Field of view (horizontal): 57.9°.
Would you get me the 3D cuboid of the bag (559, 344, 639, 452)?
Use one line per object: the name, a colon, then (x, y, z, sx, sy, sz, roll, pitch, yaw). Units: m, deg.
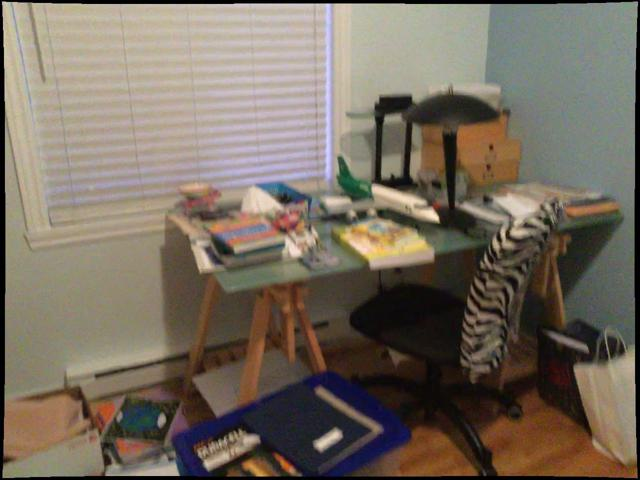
bag: (1.069, 0.551, 2.040, 0.250, 0.300, 0.230, -11, -12, -24)

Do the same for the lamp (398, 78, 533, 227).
lamp: (0.509, -0.330, 2.090, 0.330, 0.450, 0.290, -11, 24, -24)

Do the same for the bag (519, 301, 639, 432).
bag: (0.979, 0.460, 2.170, 0.280, 0.310, 0.300, -11, 24, -24)
